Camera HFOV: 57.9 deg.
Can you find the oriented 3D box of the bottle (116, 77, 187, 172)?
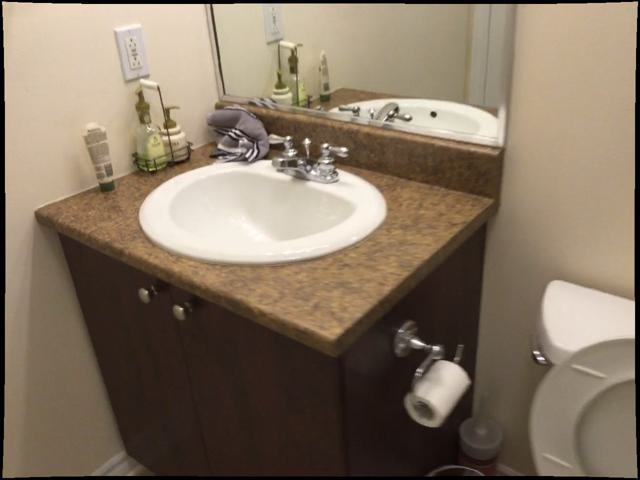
[{"bbox_3d":[-0.390,-0.270,1.350,0.090,0.190,0.090,18,35,33],"label":"bottle"}]

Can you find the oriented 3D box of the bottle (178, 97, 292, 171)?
[{"bbox_3d":[-0.210,-0.270,1.440,0.240,0.110,0.140,18,35,33],"label":"bottle"}]

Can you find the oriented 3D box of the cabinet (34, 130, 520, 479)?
[{"bbox_3d":[-0.080,0.280,1.380,0.820,0.821,0.570,18,35,33],"label":"cabinet"}]

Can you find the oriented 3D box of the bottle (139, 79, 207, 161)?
[{"bbox_3d":[-0.350,-0.290,1.390,0.080,0.160,0.110,18,35,33],"label":"bottle"}]

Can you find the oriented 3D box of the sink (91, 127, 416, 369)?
[{"bbox_3d":[-0.120,-0.030,1.190,0.470,0.220,0.430,18,35,33],"label":"sink"}]

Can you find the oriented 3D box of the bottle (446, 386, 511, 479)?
[{"bbox_3d":[0.390,0.521,1.440,0.100,0.280,0.110,18,35,33],"label":"bottle"}]
